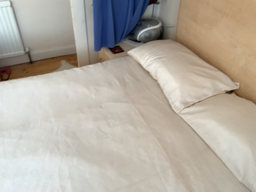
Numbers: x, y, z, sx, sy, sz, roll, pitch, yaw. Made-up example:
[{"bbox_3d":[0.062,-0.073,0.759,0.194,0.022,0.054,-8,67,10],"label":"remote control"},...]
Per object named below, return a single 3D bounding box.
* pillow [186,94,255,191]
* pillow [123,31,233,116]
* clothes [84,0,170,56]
[{"bbox_3d":[0.600,0.250,1.020,0.360,0.120,0.540,-14,46,-20],"label":"pillow"},{"bbox_3d":[0.290,-0.200,1.450,0.420,0.140,0.670,-14,46,-20],"label":"pillow"},{"bbox_3d":[0.020,-0.960,1.440,0.630,1.330,0.220,-15,46,-20],"label":"clothes"}]
